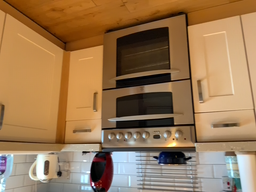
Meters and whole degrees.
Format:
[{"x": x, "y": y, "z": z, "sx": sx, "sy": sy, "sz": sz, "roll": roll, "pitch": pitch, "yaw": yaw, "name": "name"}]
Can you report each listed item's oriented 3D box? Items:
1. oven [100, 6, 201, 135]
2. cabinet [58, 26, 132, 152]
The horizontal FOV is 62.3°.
[{"x": 0.200, "y": -0.110, "z": 1.630, "sx": 0.590, "sy": 0.760, "sz": 0.600, "roll": -6, "pitch": 165, "yaw": 21, "name": "oven"}, {"x": -0.230, "y": 0.000, "z": 1.790, "sx": 0.340, "sy": 0.900, "sz": 0.580, "roll": -6, "pitch": 165, "yaw": 21, "name": "cabinet"}]
